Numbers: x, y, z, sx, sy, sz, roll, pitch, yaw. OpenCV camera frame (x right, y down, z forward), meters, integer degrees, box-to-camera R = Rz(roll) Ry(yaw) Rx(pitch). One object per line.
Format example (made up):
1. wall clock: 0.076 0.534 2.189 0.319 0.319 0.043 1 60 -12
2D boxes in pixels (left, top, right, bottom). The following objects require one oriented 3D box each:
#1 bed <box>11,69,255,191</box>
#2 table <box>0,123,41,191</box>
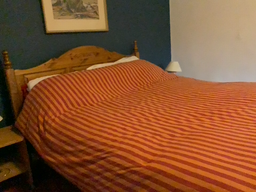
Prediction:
1. bed: 0.340 0.270 1.770 1.700 0.680 2.160 -17 19 -41
2. table: -1.060 0.530 1.700 0.500 0.420 0.370 -17 19 -41
